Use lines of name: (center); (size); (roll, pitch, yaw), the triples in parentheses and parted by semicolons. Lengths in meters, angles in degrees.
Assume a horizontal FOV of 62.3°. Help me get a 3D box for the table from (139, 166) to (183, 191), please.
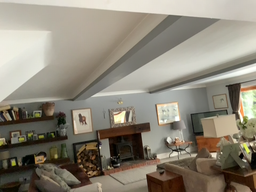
table: (0.520, 1.510, 3.360); (0.380, 0.600, 0.610); (-5, -5, -27)
